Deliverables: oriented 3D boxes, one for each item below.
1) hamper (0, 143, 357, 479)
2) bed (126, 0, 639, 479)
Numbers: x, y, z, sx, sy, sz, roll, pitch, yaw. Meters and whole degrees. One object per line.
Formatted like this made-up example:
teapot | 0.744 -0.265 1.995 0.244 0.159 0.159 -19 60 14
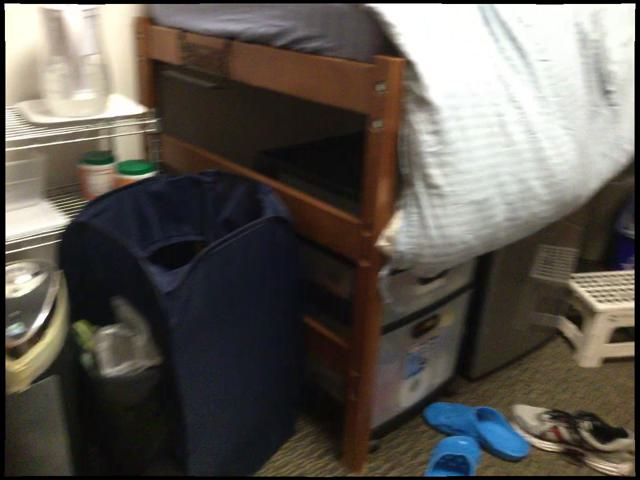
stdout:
hamper | -0.299 0.210 1.310 0.489 0.651 0.530 22 32 29
bed | 0.619 -0.421 2.160 2.228 1.142 1.149 -20 37 -39
